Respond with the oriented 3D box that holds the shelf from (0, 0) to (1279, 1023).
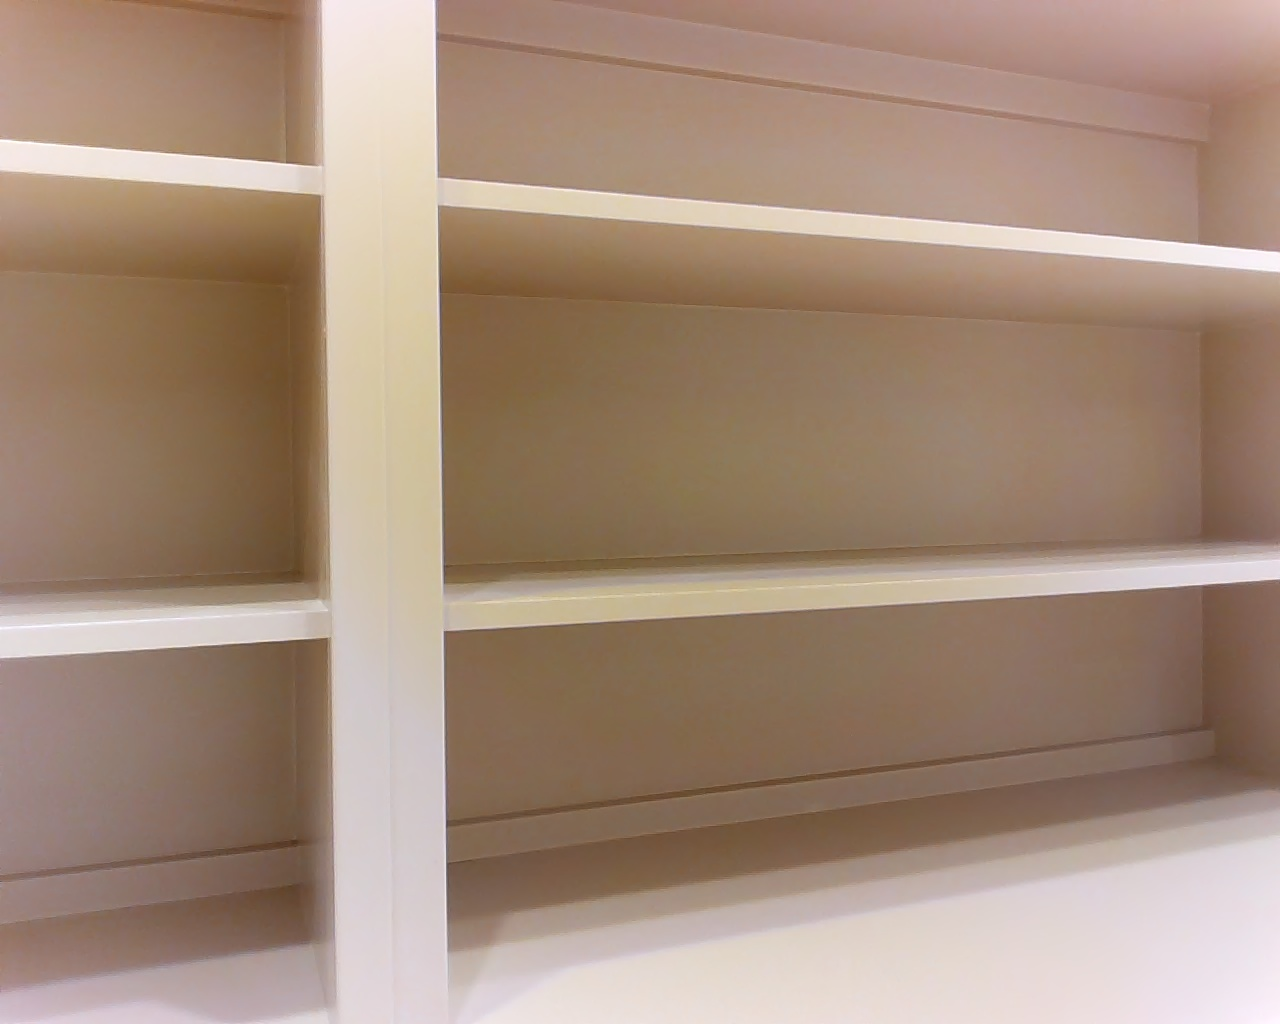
[{"bbox_3d":[-0.230,-0.070,0.920,2.449,0.930,0.430,-2,0,-20],"label":"shelf"}]
